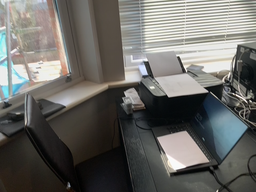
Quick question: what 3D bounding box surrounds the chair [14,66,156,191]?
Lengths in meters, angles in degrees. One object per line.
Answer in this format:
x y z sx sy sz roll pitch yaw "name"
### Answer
-0.180 0.420 1.220 0.530 1.010 0.450 -13 28 -15 "chair"
